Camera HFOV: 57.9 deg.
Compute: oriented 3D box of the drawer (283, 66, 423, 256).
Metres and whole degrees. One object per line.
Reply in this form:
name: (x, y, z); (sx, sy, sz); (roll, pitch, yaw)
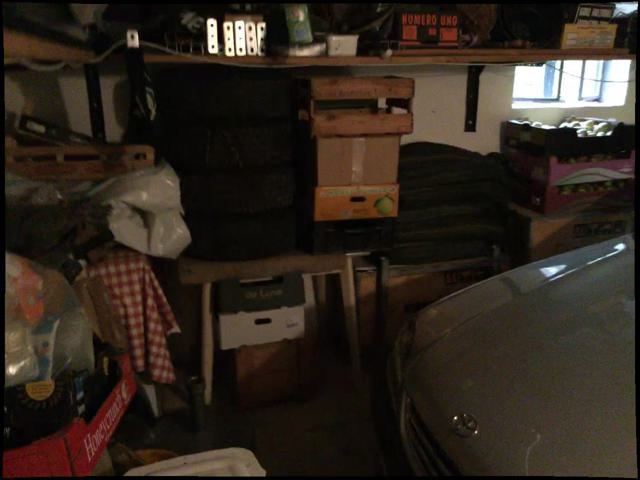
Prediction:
drawer: (0.120, -0.390, 2.670); (0.470, 0.761, 0.490); (-5, 21, -17)
